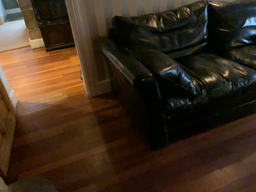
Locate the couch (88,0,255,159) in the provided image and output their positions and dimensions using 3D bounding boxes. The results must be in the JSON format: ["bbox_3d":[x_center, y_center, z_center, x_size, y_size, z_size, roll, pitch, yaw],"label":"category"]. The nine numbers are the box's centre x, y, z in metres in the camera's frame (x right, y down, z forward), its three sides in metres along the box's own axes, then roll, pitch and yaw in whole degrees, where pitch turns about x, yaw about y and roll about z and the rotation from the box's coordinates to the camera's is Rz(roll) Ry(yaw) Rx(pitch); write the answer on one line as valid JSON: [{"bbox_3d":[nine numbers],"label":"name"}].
[{"bbox_3d":[0.920,-0.450,2.210,2.320,0.860,1.180,-15,35,-15],"label":"couch"}]
